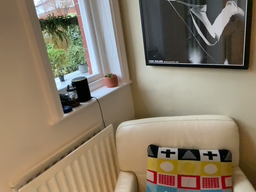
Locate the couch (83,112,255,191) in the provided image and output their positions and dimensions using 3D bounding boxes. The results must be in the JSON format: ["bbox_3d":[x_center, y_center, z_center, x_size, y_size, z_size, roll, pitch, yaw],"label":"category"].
[{"bbox_3d":[0.280,0.650,1.090,0.800,0.790,0.810,-5,22,7],"label":"couch"}]
